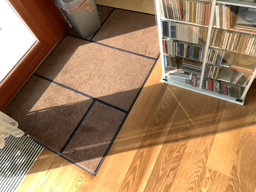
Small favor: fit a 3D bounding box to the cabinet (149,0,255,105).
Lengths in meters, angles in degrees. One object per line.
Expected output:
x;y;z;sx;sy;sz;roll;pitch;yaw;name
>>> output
0.460;-0.330;1.240;0.570;0.840;0.220;21;66;23;cabinet
